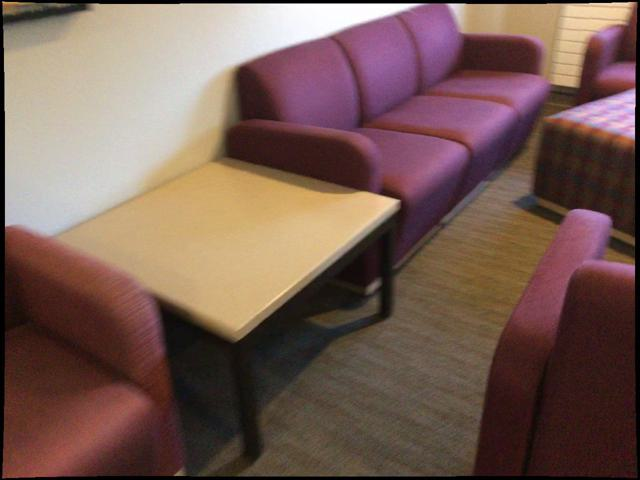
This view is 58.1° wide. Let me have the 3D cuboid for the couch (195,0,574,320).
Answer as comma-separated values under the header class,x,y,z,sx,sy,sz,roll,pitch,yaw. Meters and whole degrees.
class,x,y,z,sx,sy,sz,roll,pitch,yaw
couch,0.439,-0.571,2.720,0.779,0.832,1.919,19,35,31
